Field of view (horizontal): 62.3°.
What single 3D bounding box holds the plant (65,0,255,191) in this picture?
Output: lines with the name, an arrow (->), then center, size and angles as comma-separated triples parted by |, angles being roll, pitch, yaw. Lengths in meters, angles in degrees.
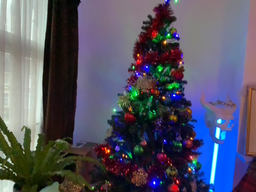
plant -> 0.170, 0.520, 1.600 | 0.920, 2.120, 0.990 | 4, 3, 7

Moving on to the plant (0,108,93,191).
plant -> -0.490, 0.360, 1.080 | 0.460, 0.520, 0.430 | 5, 3, 11
